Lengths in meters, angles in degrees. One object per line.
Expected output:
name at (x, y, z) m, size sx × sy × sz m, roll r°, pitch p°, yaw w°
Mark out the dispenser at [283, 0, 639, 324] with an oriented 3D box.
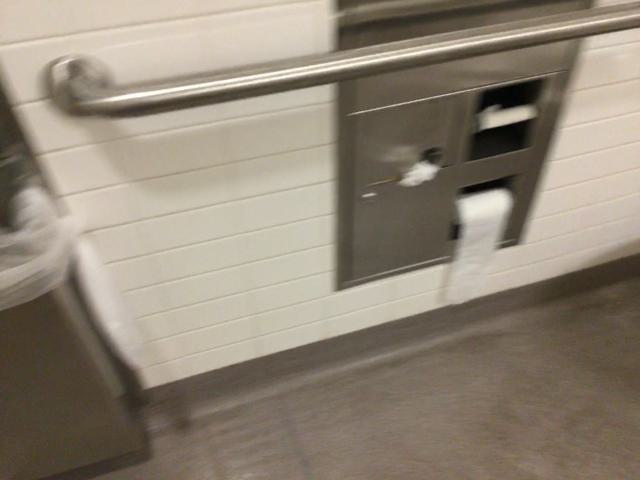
dispenser at (0.220, -0.210, 0.930) m, size 0.500 × 0.750 × 0.120 m, roll -8°, pitch 41°, yaw -18°
